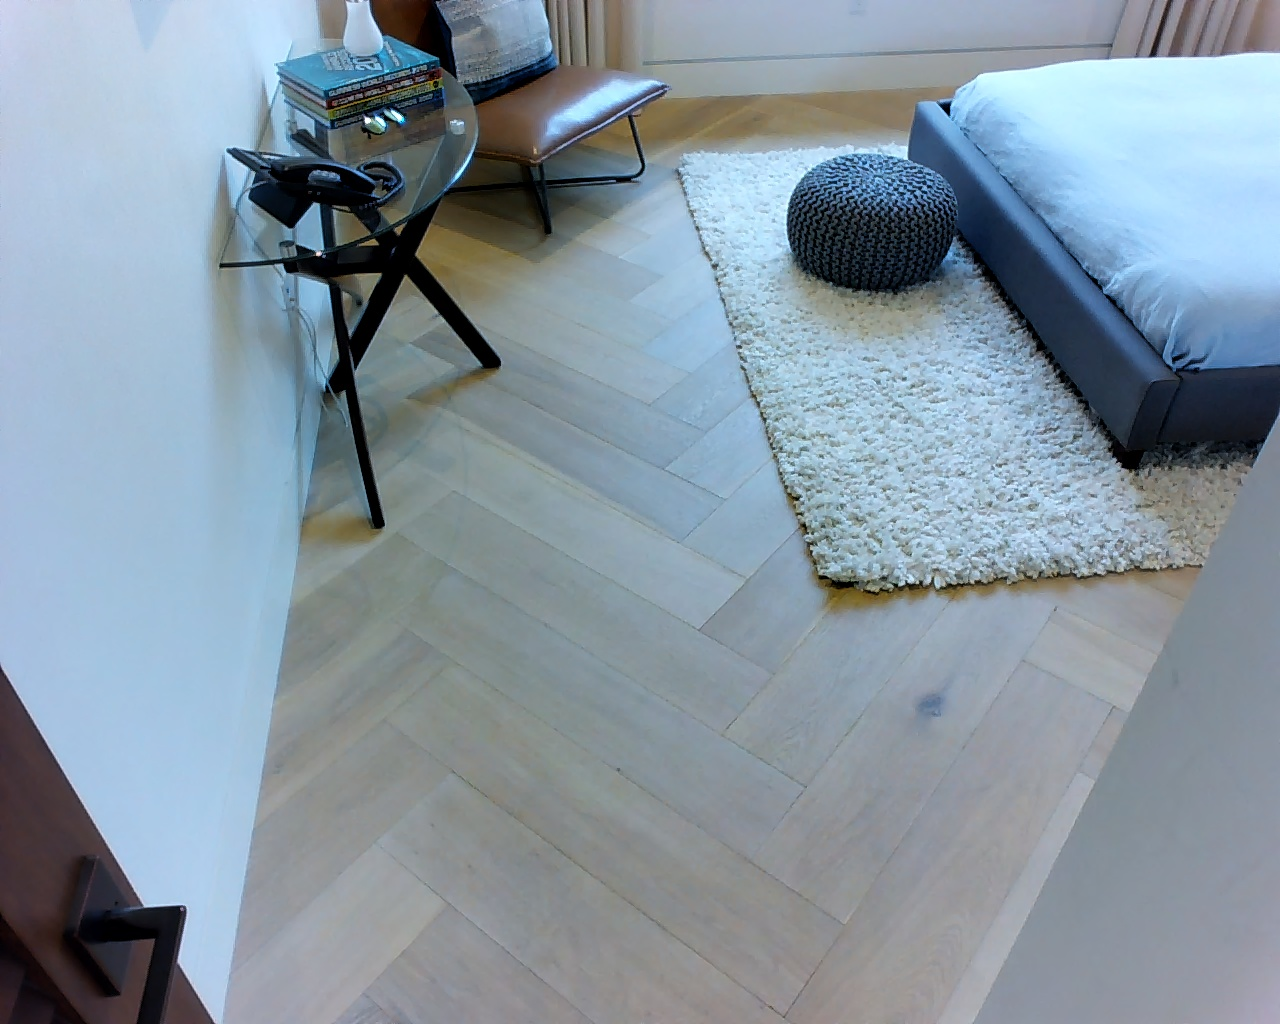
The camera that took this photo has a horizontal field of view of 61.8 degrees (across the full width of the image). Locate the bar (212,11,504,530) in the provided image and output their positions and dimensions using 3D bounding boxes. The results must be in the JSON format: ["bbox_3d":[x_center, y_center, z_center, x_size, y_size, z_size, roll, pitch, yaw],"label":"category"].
[{"bbox_3d":[-0.610,-0.630,2.610,0.460,0.780,1.090,-5,42,-5],"label":"bar"}]
